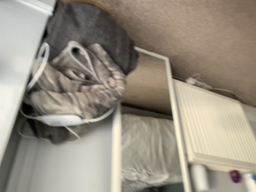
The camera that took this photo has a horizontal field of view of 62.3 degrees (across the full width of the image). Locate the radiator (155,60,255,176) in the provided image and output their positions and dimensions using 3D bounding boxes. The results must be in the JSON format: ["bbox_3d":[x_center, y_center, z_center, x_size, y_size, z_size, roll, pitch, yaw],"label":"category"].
[{"bbox_3d":[0.620,0.160,1.500,0.850,0.720,0.090,14,141,-25],"label":"radiator"}]
